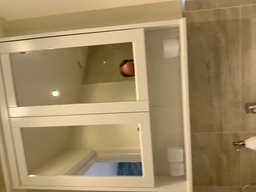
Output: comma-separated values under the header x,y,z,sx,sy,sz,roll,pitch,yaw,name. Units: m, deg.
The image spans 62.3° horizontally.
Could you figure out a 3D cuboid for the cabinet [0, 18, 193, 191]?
x,y,z,sx,sy,sz,roll,pitch,yaw,name
-0.210,0.090,1.090,0.130,1.020,0.830,-51,-42,-78,cabinet
